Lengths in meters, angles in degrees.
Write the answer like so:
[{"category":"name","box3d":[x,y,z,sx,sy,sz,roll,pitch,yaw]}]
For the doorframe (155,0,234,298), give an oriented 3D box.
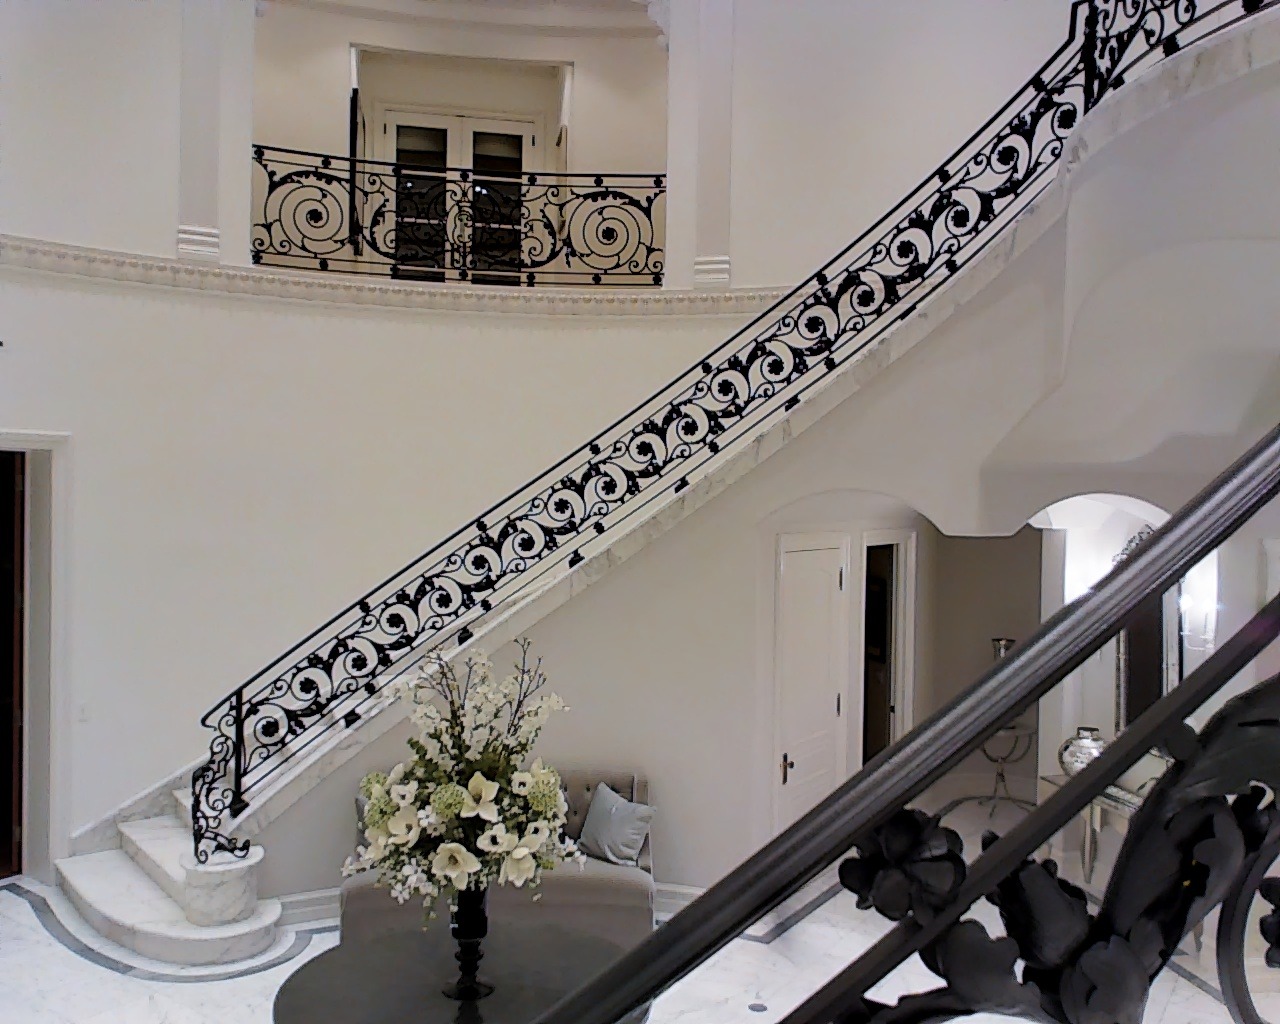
[{"category":"doorframe","box3d":[-3.609,-3.281,8.660,0.330,2.851,1.380,1,1,-33]}]
